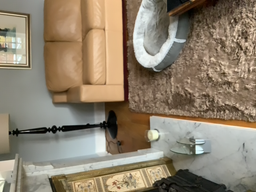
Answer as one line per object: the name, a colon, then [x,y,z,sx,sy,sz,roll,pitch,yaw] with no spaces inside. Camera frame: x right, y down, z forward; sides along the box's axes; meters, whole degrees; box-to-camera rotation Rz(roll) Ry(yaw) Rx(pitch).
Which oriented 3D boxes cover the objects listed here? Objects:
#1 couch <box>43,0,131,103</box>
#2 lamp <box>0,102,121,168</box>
couch: [-0.580,-0.720,2.700,0.990,0.820,1.570,178,90,-64]
lamp: [-0.920,0.430,2.670,0.490,1.580,0.560,16,106,62]
